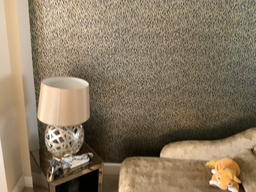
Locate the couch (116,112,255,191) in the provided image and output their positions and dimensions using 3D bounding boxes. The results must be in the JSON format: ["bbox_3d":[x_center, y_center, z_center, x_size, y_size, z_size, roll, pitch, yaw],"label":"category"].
[{"bbox_3d":[0.740,0.680,1.890,1.640,0.710,0.800,4,20,-5],"label":"couch"}]

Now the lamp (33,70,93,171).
[{"bbox_3d":[-0.500,0.160,1.690,0.370,0.620,0.500,-1,20,-16],"label":"lamp"}]
